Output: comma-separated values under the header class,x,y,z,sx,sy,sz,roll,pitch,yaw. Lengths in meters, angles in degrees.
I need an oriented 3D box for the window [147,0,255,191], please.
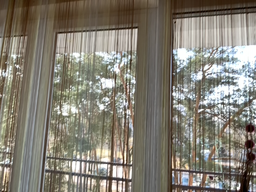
class,x,y,z,sx,sy,sz,roll,pitch,yaw
window,0.600,0.130,1.000,0.980,1.480,0.210,2,-8,10
